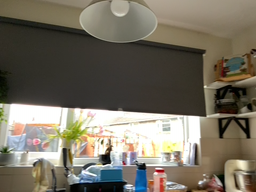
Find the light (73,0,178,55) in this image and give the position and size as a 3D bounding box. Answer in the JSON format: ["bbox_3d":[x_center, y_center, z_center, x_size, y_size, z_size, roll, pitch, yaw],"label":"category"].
[{"bbox_3d":[-0.030,-0.600,1.150,0.560,0.450,0.420,122,148,-54],"label":"light"}]
